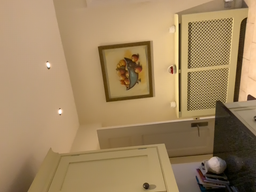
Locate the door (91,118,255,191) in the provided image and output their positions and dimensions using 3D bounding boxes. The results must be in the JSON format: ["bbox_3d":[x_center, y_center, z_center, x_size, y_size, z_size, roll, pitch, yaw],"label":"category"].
[{"bbox_3d":[0.680,0.690,2.240,0.080,2.000,0.880,-94,-1,-65],"label":"door"}]
